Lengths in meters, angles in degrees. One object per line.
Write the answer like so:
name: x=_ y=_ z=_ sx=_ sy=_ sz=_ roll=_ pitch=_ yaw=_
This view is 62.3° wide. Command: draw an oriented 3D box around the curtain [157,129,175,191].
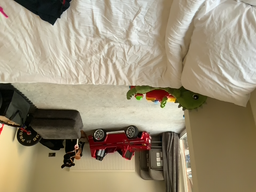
curtain: x=0.790 y=1.780 z=4.330 sx=0.220 sy=2.160 sz=0.440 roll=0 pitch=156 yaw=-1

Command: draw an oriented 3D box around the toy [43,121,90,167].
toy: x=-1.150 y=0.990 z=4.220 sx=0.590 sy=0.700 sz=1.020 roll=0 pitch=156 yaw=0
